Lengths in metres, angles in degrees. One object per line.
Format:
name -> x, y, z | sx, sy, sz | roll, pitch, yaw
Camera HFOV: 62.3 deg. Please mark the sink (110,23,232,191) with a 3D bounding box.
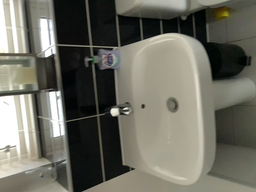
sink -> 0.150, 0.040, 0.860 | 0.420, 0.200, 0.530 | 0, 96, 52
